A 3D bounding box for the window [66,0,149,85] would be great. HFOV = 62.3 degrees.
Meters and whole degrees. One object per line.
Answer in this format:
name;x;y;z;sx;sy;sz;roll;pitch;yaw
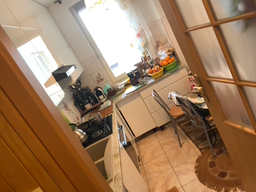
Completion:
window;-0.320;-1.080;3.820;0.750;1.600;0.230;-28;18;4
